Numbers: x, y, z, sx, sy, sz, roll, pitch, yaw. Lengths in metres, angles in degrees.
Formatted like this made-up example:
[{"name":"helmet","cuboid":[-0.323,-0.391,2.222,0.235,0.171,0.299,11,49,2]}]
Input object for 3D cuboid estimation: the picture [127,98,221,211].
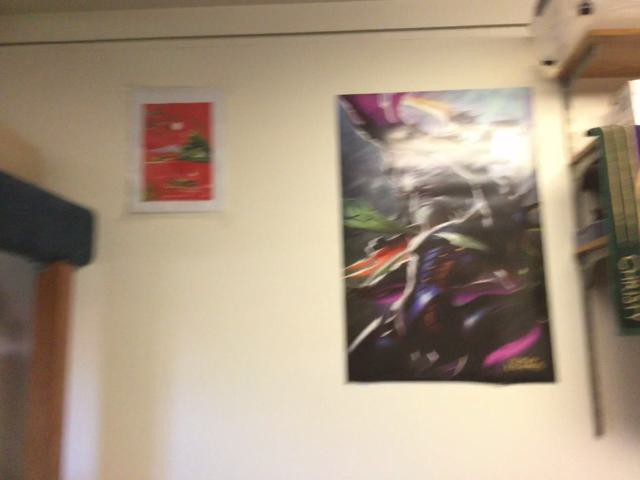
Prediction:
[{"name":"picture","cuboid":[-0.510,-0.300,2.030,0.300,0.390,0.050,-1,-10,6]}]
